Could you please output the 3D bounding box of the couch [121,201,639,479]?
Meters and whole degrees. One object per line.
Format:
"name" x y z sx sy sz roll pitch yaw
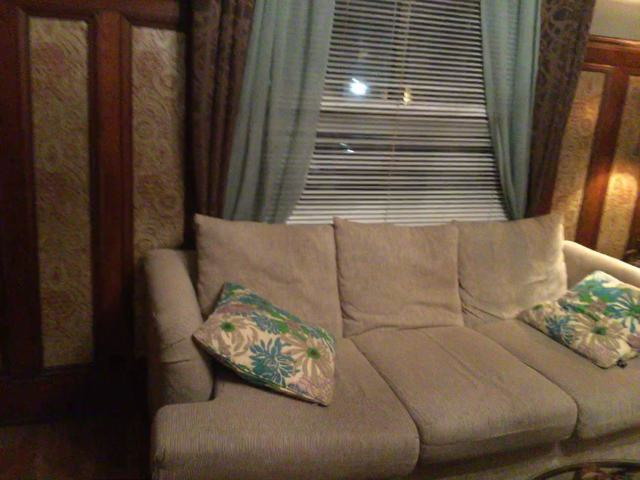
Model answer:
"couch" 0.440 0.370 2.180 2.160 0.890 0.990 -1 12 -15
